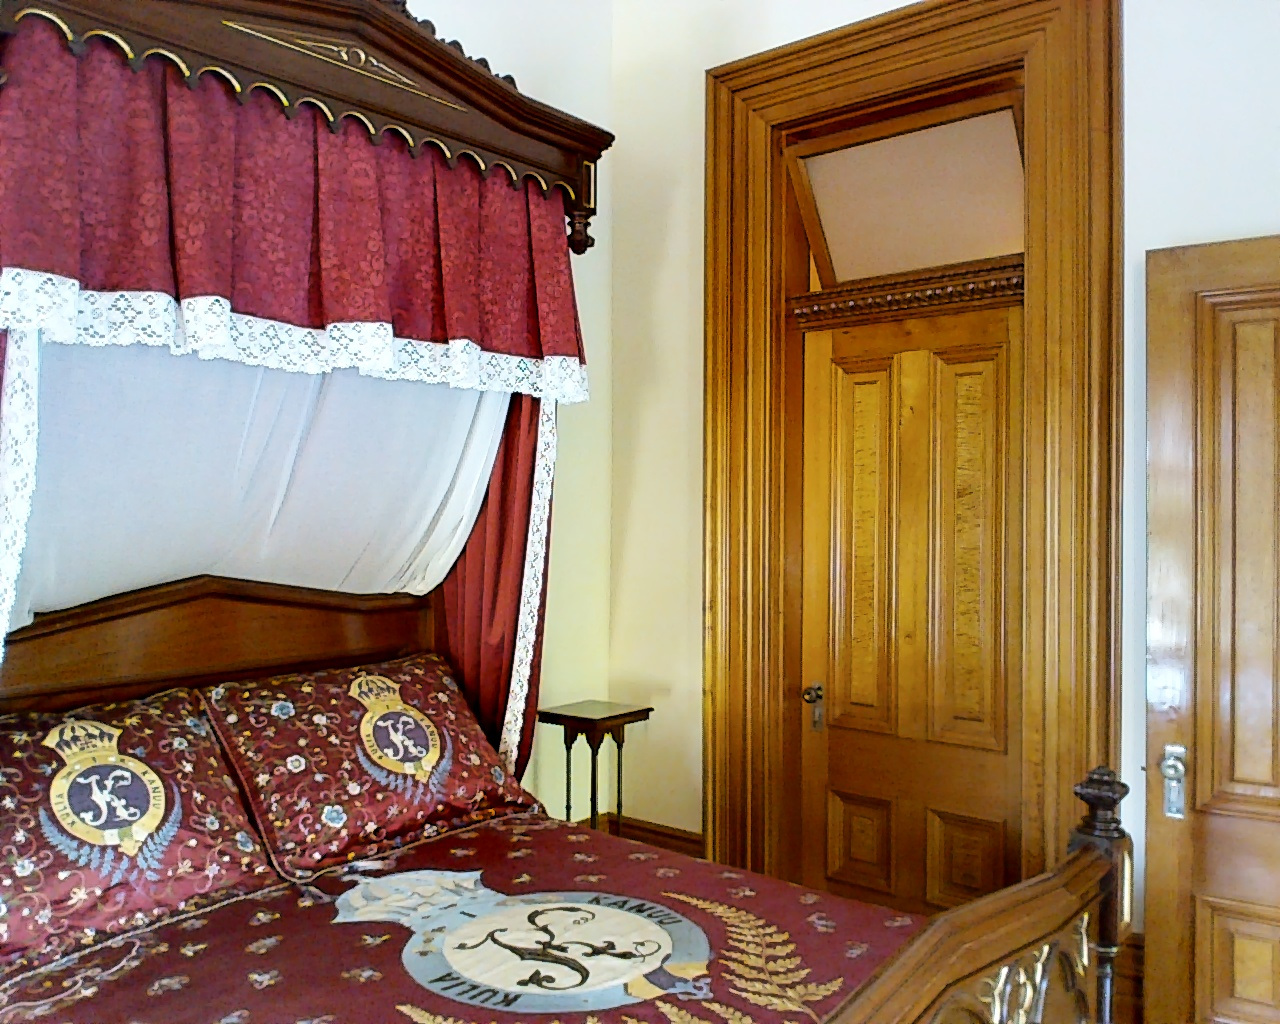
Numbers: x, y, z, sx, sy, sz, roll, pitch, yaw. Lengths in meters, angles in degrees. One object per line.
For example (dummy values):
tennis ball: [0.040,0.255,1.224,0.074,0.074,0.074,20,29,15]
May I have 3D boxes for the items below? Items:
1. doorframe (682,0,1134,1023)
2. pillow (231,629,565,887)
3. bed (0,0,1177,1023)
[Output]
doorframe: [0.840,-0.080,3.690,1.530,3.160,0.300,0,0,41]
pillow: [-0.640,0.640,2.950,0.230,0.530,0.780,35,21,34]
bed: [-0.390,0.050,2.270,2.320,2.940,2.000,0,0,40]
